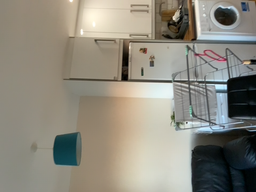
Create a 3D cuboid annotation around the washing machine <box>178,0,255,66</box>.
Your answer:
[{"bbox_3d":[1.280,-0.900,3.110,0.750,0.900,0.600,92,180,-72],"label":"washing machine"}]
